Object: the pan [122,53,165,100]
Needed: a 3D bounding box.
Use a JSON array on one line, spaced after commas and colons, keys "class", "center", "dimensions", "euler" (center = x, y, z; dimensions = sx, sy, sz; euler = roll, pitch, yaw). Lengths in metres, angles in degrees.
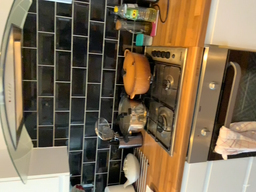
[{"class": "pan", "center": [0.090, -0.130, 1.360], "dimensions": [0.230, 0.170, 0.260], "euler": [-141, 54, -66]}]
